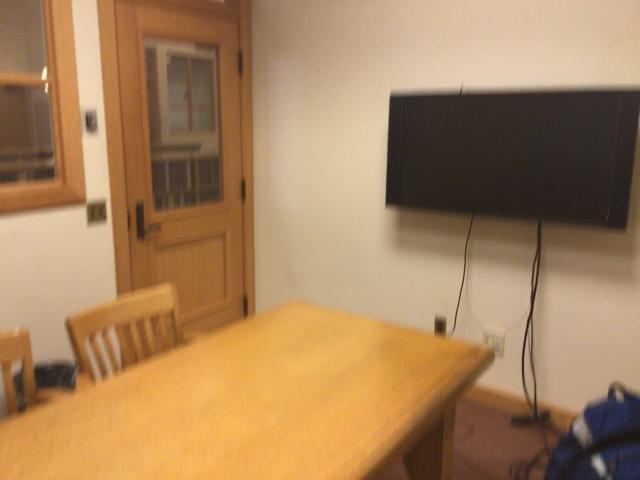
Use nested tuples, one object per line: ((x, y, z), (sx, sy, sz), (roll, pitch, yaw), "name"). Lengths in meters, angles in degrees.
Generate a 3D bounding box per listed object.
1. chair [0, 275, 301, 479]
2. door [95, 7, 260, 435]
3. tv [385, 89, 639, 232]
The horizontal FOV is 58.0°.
((-0.550, 0.660, 2.020), (0.660, 0.830, 0.730), (9, 15, 34), "chair")
((-0.740, -0.100, 3.350), (0.120, 2.200, 0.990), (9, 15, 34), "door")
((0.840, -0.400, 2.700), (1.090, 0.570, 0.210), (9, 15, 34), "tv")
